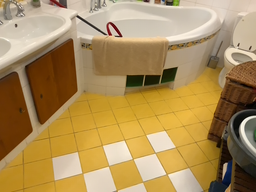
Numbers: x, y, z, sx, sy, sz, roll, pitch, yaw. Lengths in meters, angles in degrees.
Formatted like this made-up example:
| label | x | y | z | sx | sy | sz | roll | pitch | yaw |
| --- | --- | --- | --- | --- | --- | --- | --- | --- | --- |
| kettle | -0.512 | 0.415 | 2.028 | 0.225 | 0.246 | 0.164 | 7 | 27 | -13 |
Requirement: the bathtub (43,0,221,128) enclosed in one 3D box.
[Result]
| label | x | y | z | sx | sy | sz | roll | pitch | yaw |
| --- | --- | --- | --- | --- | --- | --- | --- | --- | --- |
| bathtub | 0.150 | -0.610 | 2.470 | 1.450 | 0.750 | 1.440 | 19 | 40 | 15 |
